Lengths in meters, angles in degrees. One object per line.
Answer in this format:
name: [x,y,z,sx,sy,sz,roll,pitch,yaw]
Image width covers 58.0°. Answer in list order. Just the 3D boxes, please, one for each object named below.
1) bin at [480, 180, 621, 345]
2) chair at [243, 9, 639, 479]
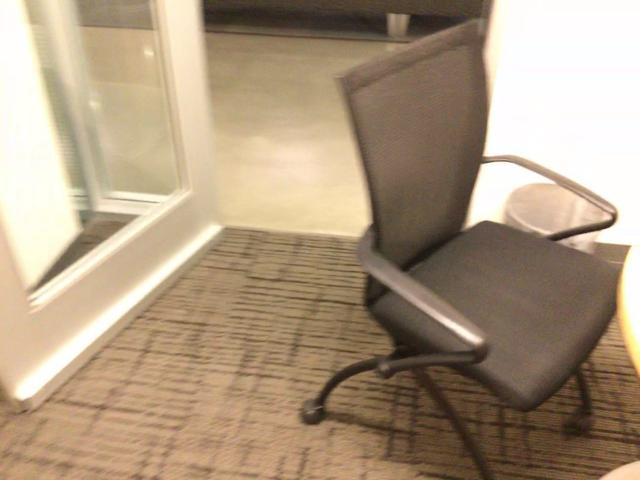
bin: [0.690,0.060,1.810,0.300,0.340,0.360,6,36,9]
chair: [0.310,0.090,1.260,0.630,0.920,0.610,-30,45,-35]
